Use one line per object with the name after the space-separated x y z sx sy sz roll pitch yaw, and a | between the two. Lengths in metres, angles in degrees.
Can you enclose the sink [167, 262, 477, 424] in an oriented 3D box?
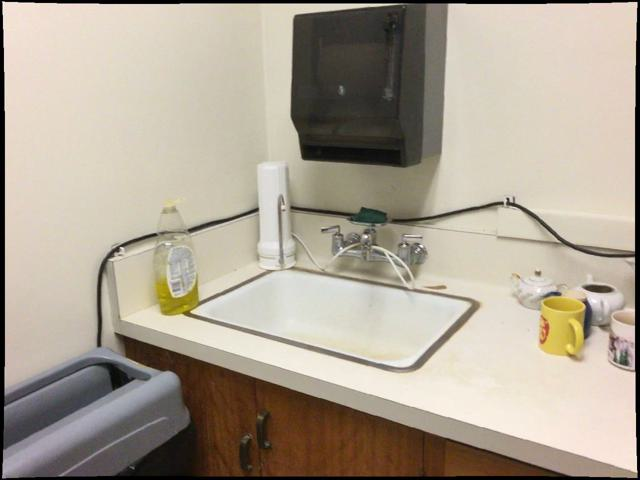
0.010 0.241 1.640 0.719 0.120 0.500 8 18 32 | sink
